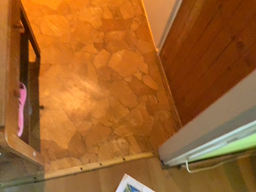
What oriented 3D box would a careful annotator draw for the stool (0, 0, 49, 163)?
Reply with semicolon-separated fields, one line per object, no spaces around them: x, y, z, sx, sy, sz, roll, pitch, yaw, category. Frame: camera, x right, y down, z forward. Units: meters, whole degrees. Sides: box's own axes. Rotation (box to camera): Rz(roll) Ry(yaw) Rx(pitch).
-0.640;-0.110;1.000;0.400;0.540;0.750;-4;67;-10;stool
